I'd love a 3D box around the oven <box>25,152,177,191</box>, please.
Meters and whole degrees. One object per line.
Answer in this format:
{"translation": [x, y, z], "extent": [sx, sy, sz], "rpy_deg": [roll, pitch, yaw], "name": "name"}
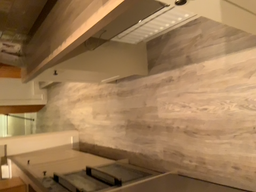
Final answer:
{"translation": [-0.200, 0.840, 1.590], "extent": [0.710, 0.900, 0.590], "rpy_deg": [-10, 83, 53], "name": "oven"}
